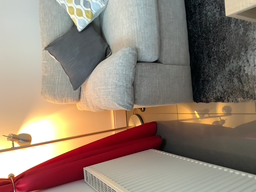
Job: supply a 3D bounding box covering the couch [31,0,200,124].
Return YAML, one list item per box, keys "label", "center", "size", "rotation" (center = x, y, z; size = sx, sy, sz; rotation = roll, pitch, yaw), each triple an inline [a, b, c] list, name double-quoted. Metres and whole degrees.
- label: "couch"
  center: [-0.200, -0.470, 1.710]
  size: [1.090, 0.870, 1.200]
  rotation: [-4, 90, 58]
